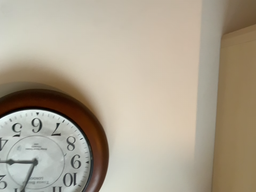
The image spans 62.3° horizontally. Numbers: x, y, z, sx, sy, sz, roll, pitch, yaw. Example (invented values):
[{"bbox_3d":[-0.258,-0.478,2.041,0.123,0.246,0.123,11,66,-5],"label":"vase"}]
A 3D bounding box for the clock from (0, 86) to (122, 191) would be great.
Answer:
[{"bbox_3d":[-0.310,0.230,0.780,0.550,0.520,0.100,1,-174,-12],"label":"clock"}]
